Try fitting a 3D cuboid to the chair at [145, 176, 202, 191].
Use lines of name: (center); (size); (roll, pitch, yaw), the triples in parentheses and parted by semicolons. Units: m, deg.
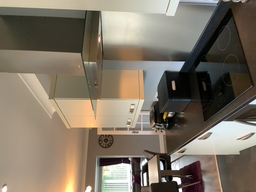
chair: (0.810, 1.730, 3.860); (0.510, 0.890, 0.440); (100, 170, -64)
